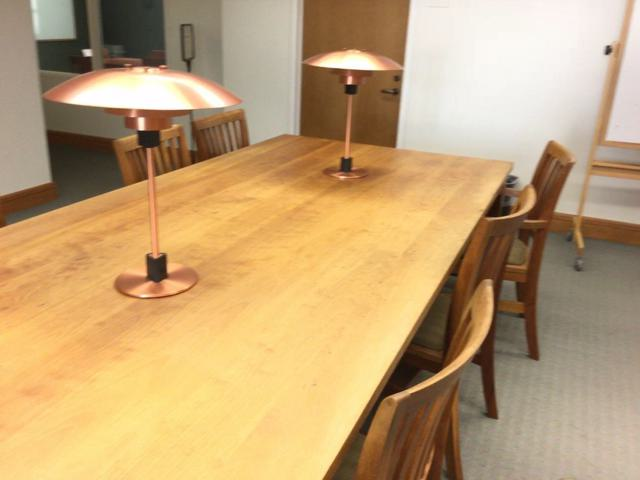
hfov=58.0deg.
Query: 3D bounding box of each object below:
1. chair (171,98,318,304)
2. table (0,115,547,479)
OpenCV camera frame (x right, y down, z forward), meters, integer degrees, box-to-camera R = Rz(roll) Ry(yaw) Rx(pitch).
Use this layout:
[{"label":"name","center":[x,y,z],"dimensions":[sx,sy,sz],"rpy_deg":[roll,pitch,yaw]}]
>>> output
[{"label":"chair","center":[-0.380,-0.250,3.160],"dimensions":[0.510,0.950,0.620],"rpy_deg":[9,21,23]},{"label":"table","center":[-0.150,0.210,2.180],"dimensions":[1.580,0.950,2.880],"rpy_deg":[9,21,22]}]
